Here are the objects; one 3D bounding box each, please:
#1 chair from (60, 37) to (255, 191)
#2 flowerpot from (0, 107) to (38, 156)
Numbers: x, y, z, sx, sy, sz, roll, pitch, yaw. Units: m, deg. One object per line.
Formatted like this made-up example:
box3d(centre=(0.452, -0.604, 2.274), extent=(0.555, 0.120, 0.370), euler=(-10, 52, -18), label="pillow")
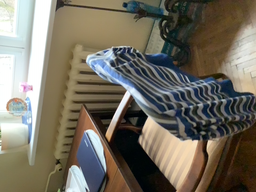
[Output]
box3d(centre=(0.250, 0.170, 1.050), extent=(0.580, 0.920, 0.610), euler=(47, 127, 45), label="chair")
box3d(centre=(-1.170, 0.280, 1.630), extent=(0.380, 0.810, 0.170), euler=(53, 131, 41), label="flowerpot")
